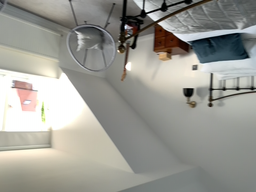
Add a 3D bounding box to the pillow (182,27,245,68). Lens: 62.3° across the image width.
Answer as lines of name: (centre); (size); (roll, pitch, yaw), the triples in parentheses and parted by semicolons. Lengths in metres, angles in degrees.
pillow: (0.940, -0.510, 2.340); (0.580, 0.370, 0.150); (4, -133, 38)
